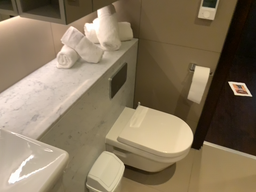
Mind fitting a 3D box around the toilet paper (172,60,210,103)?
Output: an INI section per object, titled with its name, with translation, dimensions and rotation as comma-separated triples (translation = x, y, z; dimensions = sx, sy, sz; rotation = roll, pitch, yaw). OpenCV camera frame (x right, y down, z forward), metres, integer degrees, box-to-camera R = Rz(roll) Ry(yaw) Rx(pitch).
[toilet paper]
translation = 0.430, -0.100, 1.470
dimensions = 0.190, 0.240, 0.110
rotation = 17, 38, 17
